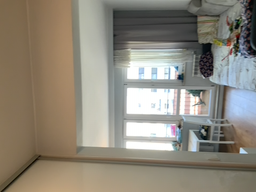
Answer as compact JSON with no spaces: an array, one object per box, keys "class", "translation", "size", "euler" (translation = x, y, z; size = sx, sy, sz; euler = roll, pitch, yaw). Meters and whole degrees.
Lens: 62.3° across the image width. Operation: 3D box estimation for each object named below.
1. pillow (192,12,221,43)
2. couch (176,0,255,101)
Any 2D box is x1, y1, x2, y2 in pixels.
[{"class":"pillow","translation":[1.560,-1.360,4.270],"size":[0.410,0.400,0.530],"euler":[-69,-20,-80]},{"class":"couch","translation":[1.520,-0.870,3.540],"size":[2.260,1.000,1.480],"euler":[-70,-19,-79]}]
